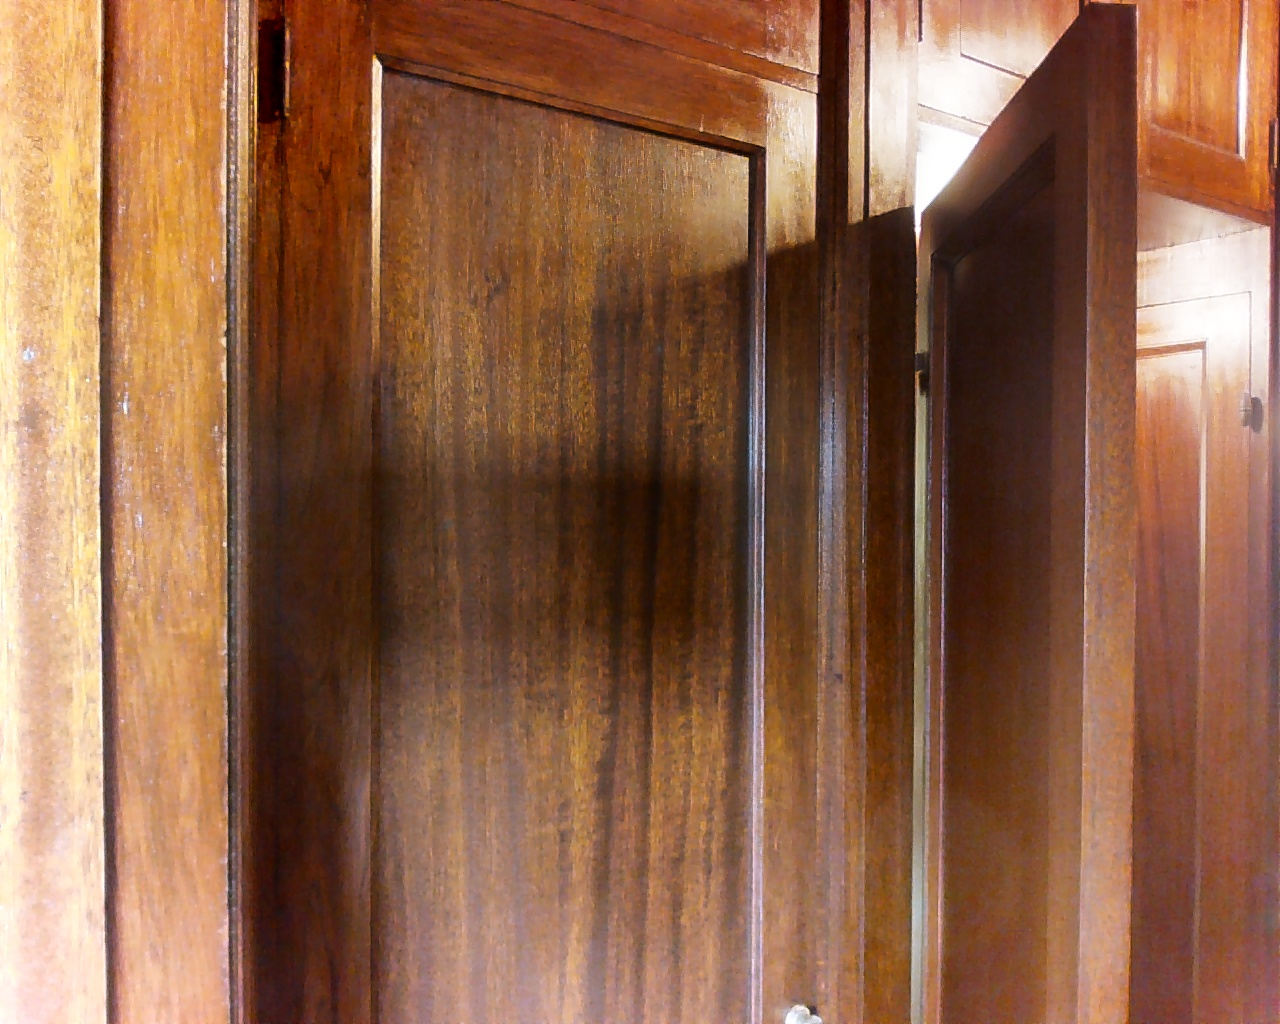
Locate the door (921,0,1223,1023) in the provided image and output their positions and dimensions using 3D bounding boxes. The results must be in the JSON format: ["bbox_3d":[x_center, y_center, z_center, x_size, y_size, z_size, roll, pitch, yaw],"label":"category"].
[{"bbox_3d":[0.350,0.560,0.980,0.100,1.900,0.540,0,1,6],"label":"door"}]
